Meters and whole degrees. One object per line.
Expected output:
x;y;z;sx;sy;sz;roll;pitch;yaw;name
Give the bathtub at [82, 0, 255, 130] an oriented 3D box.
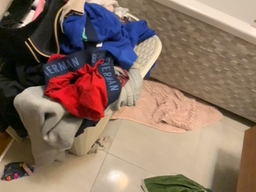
0.530;-0.390;1.220;1.380;0.590;0.700;23;63;1;bathtub
